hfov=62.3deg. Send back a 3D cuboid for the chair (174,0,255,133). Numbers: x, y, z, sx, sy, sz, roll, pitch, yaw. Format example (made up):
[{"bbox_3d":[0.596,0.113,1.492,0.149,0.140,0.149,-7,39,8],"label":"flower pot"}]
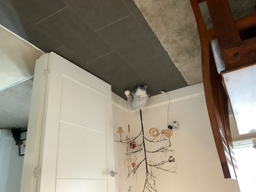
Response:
[{"bbox_3d":[0.650,-0.290,1.300,0.500,0.880,0.470,-17,154,25],"label":"chair"}]
